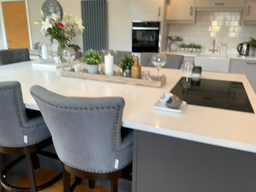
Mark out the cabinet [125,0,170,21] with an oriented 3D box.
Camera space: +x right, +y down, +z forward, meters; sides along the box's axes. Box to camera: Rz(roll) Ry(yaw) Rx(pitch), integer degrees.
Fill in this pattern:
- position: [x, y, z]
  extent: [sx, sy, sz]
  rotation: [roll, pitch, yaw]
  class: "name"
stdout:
- position: [0.400, -1.820, 4.150]
  extent: [0.720, 0.640, 0.630]
  rotation: [9, 19, 20]
  class: "cabinet"
